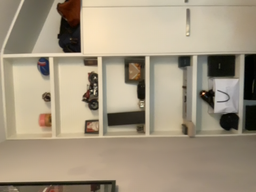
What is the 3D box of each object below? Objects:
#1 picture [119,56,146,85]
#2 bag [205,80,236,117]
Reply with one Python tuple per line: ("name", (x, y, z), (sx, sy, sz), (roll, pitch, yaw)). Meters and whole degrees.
("picture", (0.050, -0.250, 2.120), (0.050, 0.200, 0.240), (-53, -53, -70))
("bag", (0.920, 0.020, 2.120), (0.180, 0.220, 0.350), (-115, 25, -87))
